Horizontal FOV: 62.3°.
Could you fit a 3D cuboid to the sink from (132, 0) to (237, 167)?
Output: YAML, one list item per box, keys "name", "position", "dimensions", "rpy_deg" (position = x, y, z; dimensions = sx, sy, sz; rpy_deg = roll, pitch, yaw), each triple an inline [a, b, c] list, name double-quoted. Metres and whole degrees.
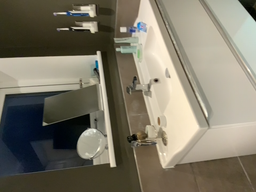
- name: "sink"
  position: [0.230, -0.160, 1.280]
  dimensions: [0.460, 0.180, 1.010]
  rpy_deg: [101, 162, -54]
